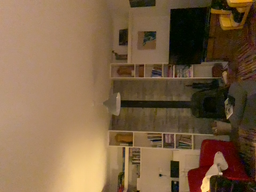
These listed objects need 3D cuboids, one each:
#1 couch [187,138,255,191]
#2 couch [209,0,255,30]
[{"bbox_3d":[1.460,1.270,3.520,0.790,0.790,0.780,-76,-16,-61],"label":"couch"},{"bbox_3d":[1.650,-1.460,3.390,0.630,0.480,0.490,74,-162,-67],"label":"couch"}]
